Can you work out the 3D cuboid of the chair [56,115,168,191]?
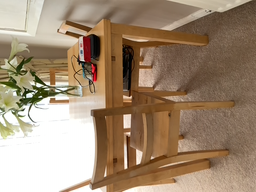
[{"bbox_3d":[-0.120,0.480,1.710,0.340,0.820,0.610,-4,87,62],"label":"chair"}]
